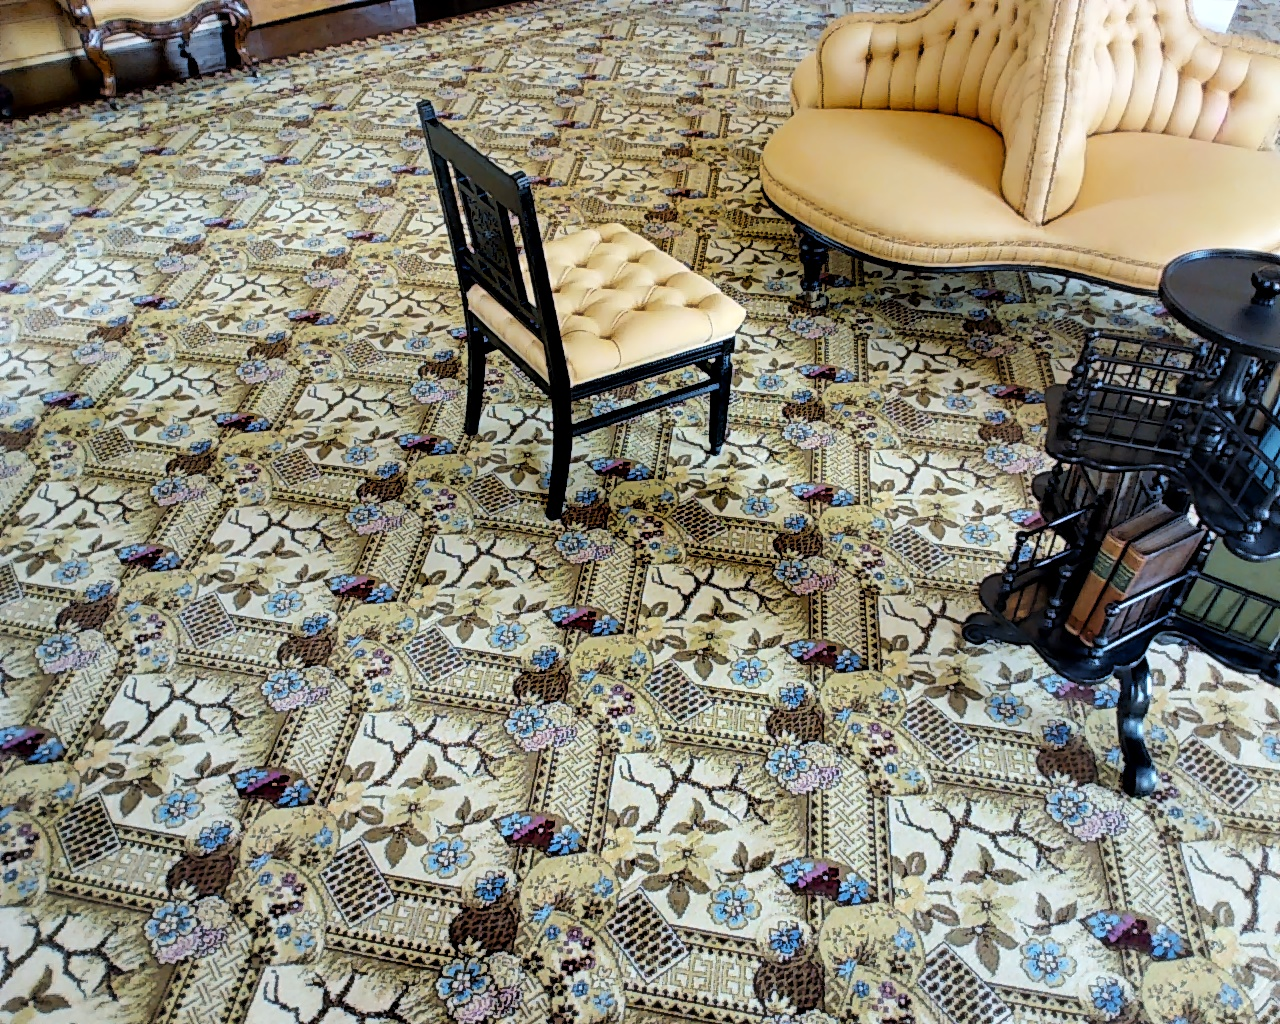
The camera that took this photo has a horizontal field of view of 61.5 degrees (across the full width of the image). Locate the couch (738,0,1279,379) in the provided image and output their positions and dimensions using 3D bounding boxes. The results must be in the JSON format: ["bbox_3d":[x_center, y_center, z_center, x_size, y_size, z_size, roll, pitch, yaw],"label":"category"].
[{"bbox_3d":[1.120,-1.230,2.950,1.480,0.900,1.530,7,42,8],"label":"couch"}]

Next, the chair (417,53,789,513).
[{"bbox_3d":[-0.080,-0.500,2.310,0.520,0.700,0.520,-25,47,-25],"label":"chair"}]

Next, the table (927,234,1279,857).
[{"bbox_3d":[0.880,0.040,1.730,0.510,0.680,0.540,28,49,28],"label":"table"}]
